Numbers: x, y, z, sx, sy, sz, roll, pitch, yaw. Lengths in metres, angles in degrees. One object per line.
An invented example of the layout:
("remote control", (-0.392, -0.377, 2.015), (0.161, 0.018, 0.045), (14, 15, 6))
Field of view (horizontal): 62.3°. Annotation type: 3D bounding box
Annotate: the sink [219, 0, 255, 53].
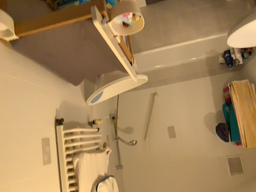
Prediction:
("sink", (0.930, -0.530, 1.460), (0.420, 0.190, 0.590), (-11, 169, 11))
